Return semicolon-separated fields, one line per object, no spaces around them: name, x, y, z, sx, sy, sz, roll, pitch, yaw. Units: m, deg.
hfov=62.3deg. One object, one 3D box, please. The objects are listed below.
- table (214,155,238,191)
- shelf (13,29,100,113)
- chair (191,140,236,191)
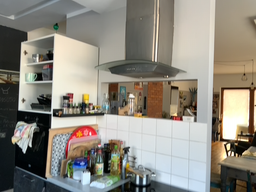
table;1.410;1.300;3.040;0.220;0.750;0.540;2;-1;34
shelf;-0.760;-0.220;2.290;0.650;0.740;0.600;2;-1;35
chair;1.310;1.210;3.230;0.530;0.930;0.480;2;-1;33
